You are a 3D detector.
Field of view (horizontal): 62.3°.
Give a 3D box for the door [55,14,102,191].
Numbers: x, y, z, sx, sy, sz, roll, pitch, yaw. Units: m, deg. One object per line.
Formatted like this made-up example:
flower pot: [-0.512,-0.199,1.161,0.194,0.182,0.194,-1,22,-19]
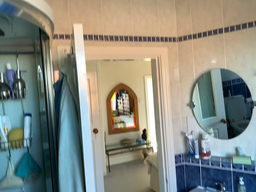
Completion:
door: [-0.270,0.650,1.190,0.090,1.930,0.750,-4,2,-22]
